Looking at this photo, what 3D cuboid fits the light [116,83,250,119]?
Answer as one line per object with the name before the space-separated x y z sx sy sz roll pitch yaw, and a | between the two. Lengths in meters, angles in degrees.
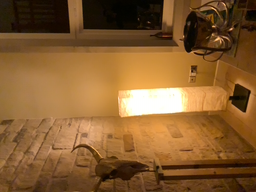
light | 0.640 0.050 2.610 0.280 1.570 0.340 -106 16 -69
